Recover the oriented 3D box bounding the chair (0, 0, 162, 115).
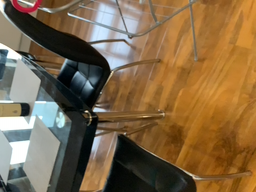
[{"bbox_3d":[-0.290,-0.190,1.260,0.350,0.960,0.470,39,113,36],"label":"chair"}]

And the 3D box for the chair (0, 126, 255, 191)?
[{"bbox_3d":[0.080,0.470,0.890,0.630,0.970,0.410,22,102,40],"label":"chair"}]
